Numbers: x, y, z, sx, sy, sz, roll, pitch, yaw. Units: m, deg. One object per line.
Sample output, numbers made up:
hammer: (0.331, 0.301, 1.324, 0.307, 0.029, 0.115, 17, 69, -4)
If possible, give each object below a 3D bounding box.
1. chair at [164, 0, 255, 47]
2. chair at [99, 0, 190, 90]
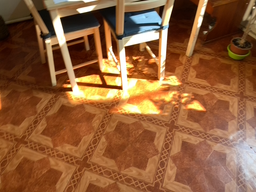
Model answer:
chair: (0.880, -1.110, 2.170, 0.600, 0.800, 0.740, -20, 53, -18)
chair: (0.080, -0.610, 1.620, 0.460, 0.940, 0.550, -15, 51, -14)
